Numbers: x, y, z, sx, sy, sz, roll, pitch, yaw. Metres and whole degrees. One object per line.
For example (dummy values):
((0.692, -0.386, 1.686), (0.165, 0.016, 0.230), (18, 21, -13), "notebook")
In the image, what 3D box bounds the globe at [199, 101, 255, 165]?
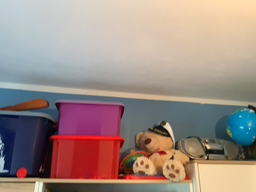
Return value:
((0.760, 0.290, 1.510), (0.250, 0.350, 0.490), (3, -23, -9), "globe")
